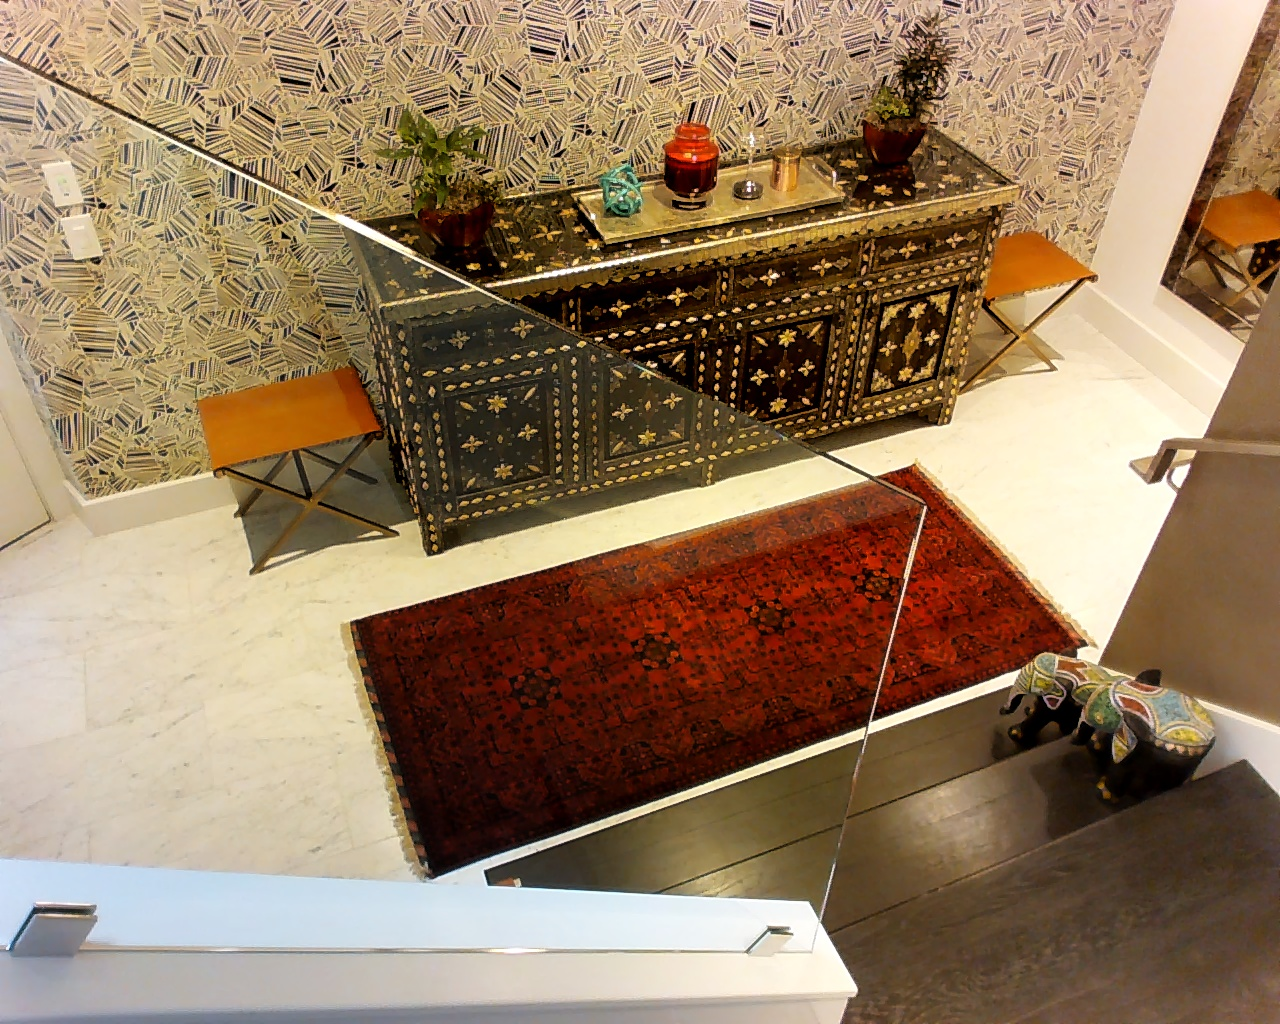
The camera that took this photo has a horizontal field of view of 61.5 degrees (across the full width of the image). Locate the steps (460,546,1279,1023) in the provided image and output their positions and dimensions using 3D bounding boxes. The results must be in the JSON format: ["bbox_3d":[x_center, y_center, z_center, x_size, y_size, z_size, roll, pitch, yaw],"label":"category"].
[{"bbox_3d":[0.520,0.720,2.380,1.650,0.660,0.640,-14,45,-16],"label":"steps"}]
